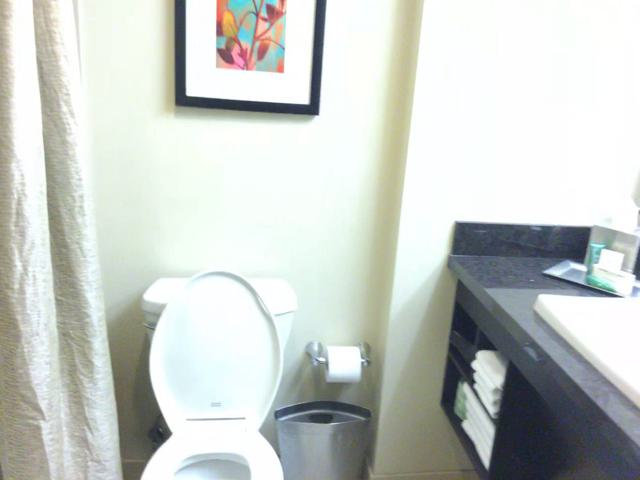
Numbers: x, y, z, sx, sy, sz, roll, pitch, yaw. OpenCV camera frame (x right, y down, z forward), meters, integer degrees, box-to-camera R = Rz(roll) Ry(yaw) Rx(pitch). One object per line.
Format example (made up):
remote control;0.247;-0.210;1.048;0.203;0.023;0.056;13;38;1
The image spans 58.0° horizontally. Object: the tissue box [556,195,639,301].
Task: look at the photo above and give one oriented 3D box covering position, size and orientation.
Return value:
tissue box;0.850;0.010;1.590;0.240;0.210;0.290;-1;17;-6
